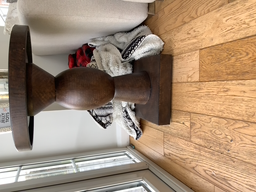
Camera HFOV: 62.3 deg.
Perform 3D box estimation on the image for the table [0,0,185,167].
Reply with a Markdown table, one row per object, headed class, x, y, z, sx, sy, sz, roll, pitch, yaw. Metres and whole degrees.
| class | x | y | z | sx | sy | sz | roll | pitch | yaw |
| --- | --- | --- | --- | --- | --- | --- | --- | --- | --- |
| table | -0.180 | -0.060 | 1.020 | 0.530 | 0.690 | 0.530 | -178 | 87 | -68 |
